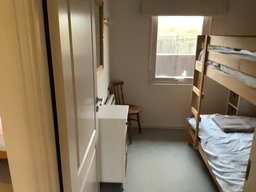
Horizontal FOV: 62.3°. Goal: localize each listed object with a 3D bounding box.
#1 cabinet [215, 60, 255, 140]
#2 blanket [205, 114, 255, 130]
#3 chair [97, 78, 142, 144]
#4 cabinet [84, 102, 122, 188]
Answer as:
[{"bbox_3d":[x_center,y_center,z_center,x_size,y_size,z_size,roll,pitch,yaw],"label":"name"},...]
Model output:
[{"bbox_3d":[1.660,0.060,3.240,0.340,1.140,0.390,2,18,1],"label":"cabinet"},{"bbox_3d":[1.280,0.320,2.660,0.510,0.030,0.380,2,18,2],"label":"blanket"},{"bbox_3d":[-0.130,0.200,3.240,0.480,0.820,0.480,12,20,29],"label":"chair"},{"bbox_3d":[-0.250,0.510,2.280,0.330,0.800,0.410,2,18,1],"label":"cabinet"}]
